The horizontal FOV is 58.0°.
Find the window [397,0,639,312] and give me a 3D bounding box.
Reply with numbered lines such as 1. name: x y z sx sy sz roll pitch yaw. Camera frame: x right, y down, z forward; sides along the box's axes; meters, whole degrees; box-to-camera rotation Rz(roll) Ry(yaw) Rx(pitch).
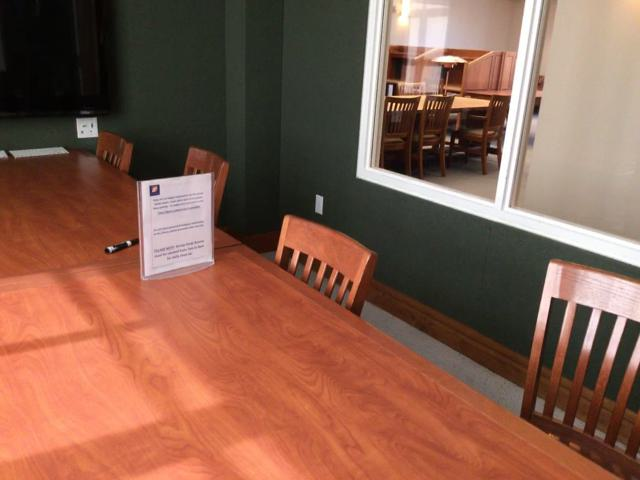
1. window: 0.970 -0.470 2.160 0.230 1.210 1.600 -10 23 -34
